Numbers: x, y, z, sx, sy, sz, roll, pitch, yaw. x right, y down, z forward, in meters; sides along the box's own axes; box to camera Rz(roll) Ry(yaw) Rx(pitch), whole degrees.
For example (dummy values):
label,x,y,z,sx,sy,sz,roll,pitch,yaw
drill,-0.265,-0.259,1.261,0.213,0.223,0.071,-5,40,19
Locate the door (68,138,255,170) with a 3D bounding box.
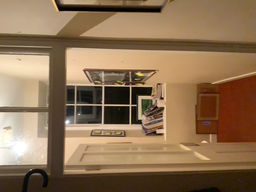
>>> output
label,x,y,z,sx,sy,sz,roll,pitch,yaw
door,0.490,0.470,1.840,0.790,1.830,0.040,174,97,-84
